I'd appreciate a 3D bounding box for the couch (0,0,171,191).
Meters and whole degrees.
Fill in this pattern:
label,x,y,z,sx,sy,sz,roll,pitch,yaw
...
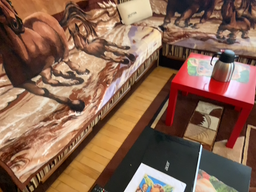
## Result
label,x,y,z,sx,sy,sz,roll,pitch,yaw
couch,-0.470,-0.290,1.740,0.910,0.960,2.090,19,41,22
